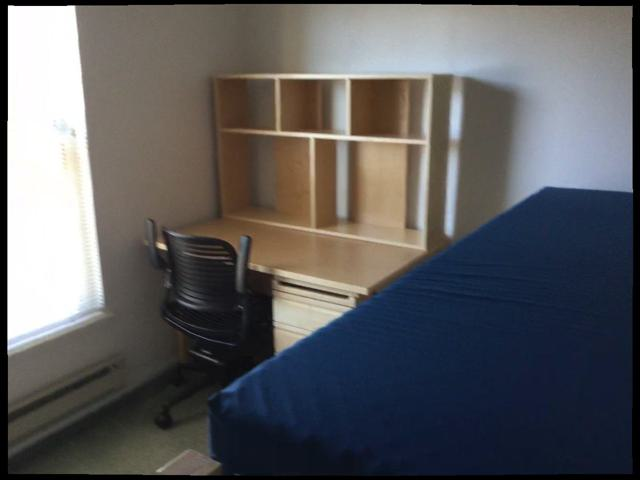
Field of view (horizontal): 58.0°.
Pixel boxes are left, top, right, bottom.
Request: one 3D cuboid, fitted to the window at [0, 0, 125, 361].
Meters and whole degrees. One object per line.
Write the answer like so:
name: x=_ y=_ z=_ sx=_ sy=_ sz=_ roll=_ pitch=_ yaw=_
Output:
window: x=-1.298 y=-0.331 z=2.190 sx=0.200 sy=1.603 sz=1.010 roll=10 pitch=19 yaw=31
